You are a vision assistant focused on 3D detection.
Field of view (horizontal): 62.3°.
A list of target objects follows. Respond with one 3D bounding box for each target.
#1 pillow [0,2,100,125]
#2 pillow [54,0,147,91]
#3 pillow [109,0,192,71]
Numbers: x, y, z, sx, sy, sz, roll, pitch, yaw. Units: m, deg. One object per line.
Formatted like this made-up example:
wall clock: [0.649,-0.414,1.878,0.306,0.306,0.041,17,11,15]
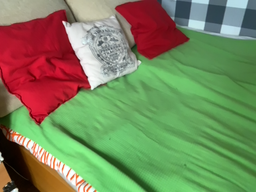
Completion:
pillow: [-0.370,-0.150,0.960,0.110,0.420,0.360,-10,27,40]
pillow: [-0.130,-0.280,1.160,0.380,0.330,0.120,-45,18,-28]
pillow: [0.190,-0.500,1.440,0.140,0.380,0.600,-20,23,46]
